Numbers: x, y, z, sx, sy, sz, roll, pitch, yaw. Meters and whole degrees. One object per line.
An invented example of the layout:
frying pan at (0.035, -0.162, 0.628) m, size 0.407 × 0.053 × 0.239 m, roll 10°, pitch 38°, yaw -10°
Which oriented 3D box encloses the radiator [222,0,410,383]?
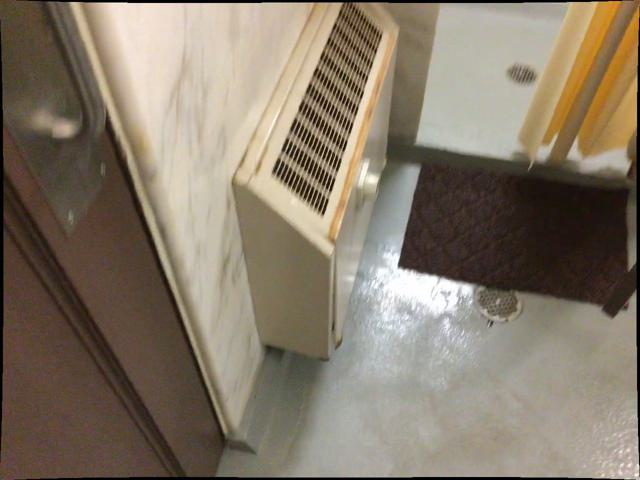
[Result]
radiator at (0.030, -0.150, 1.260) m, size 0.200 × 0.530 × 0.720 m, roll 10°, pitch 52°, yaw 8°
